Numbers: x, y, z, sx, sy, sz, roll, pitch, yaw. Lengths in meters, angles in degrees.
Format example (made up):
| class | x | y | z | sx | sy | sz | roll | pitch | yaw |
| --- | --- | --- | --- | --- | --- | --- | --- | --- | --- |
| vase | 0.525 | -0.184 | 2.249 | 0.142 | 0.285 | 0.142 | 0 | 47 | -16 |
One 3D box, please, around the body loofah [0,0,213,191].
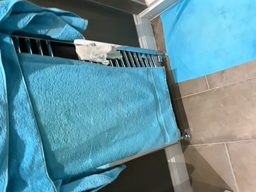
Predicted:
| class | x | y | z | sx | sy | sz | roll | pitch | yaw |
| --- | --- | --- | --- | --- | --- | --- | --- | --- | --- |
| body loofah | -0.110 | 0.040 | 0.900 | 0.230 | 1.180 | 1.010 | -16 | 82 | 45 |
